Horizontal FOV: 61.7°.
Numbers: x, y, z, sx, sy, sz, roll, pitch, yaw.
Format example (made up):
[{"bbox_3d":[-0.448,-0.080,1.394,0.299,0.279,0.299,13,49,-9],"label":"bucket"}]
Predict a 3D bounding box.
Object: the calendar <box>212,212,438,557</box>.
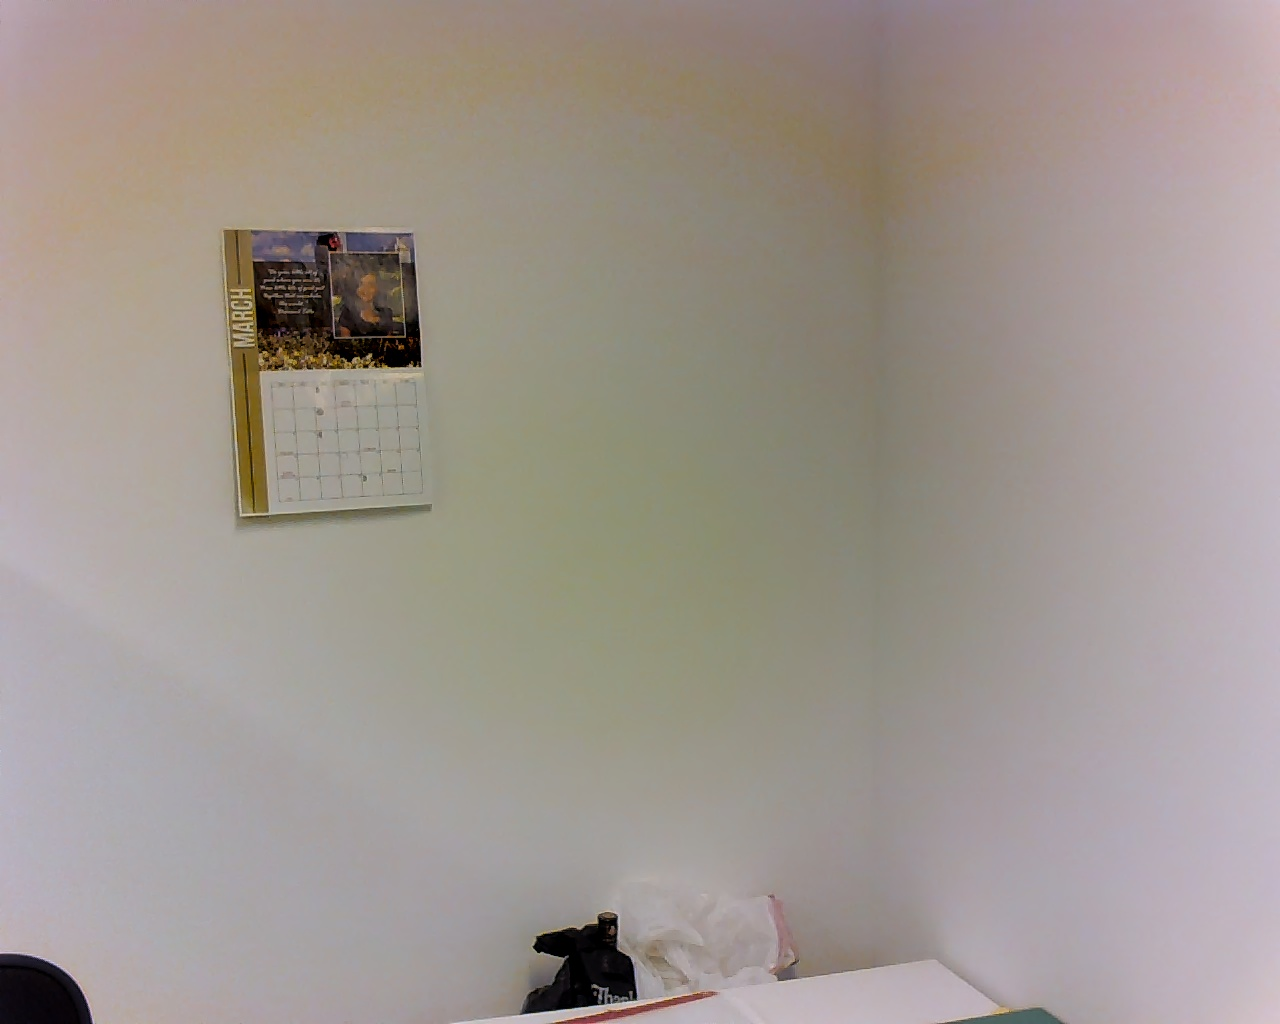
[{"bbox_3d":[-0.470,-0.180,1.610,0.310,0.490,0.060,1,0,-20],"label":"calendar"}]
